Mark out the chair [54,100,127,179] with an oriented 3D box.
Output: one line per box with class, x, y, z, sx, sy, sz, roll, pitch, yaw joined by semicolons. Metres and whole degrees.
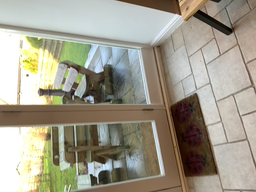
chair;-0.600;0.640;3.250;0.470;0.940;1.060;141;125;-58
